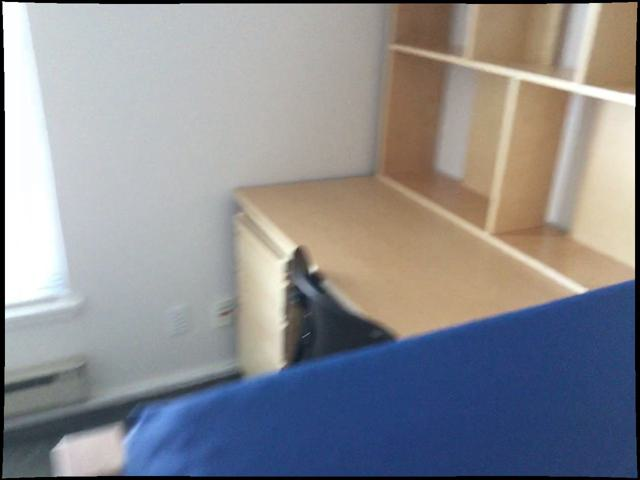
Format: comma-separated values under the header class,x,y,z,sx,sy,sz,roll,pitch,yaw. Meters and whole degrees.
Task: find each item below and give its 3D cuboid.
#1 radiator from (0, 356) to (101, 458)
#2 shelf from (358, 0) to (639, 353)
class,x,y,z,sx,sy,sz,roll,pitch,yaw
radiator,-1.267,0.612,1.770,1.088,0.261,0.080,-9,25,-26
shelf,0.618,-0.371,1.650,0.359,0.832,1.280,-9,26,-26
